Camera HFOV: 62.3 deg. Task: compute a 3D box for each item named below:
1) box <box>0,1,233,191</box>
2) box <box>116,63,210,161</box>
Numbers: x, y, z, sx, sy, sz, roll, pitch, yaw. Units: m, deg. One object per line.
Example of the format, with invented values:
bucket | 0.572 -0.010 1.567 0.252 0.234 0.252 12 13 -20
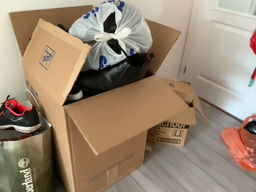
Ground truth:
box | -0.120 0.060 1.070 0.690 0.830 0.730 -23 42 -35
box | 0.220 0.090 1.440 0.500 0.430 0.400 10 34 9
